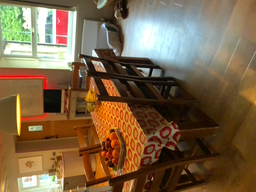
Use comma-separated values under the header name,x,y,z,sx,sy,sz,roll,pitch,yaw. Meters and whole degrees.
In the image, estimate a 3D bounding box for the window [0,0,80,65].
name,x,y,z,sx,sy,sz,roll,pitch,yaw
window,-1.940,-1.370,4.440,0.400,1.690,1.300,-122,38,-51

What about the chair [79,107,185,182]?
name,x,y,z,sx,sy,sz,roll,pitch,yaw
chair,0.010,0.500,2.390,0.480,1.010,0.530,-124,39,-52

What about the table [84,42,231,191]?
name,x,y,z,sx,sy,sz,roll,pitch,yaw
table,0.080,0.170,2.510,1.820,0.780,0.940,-121,37,-50
